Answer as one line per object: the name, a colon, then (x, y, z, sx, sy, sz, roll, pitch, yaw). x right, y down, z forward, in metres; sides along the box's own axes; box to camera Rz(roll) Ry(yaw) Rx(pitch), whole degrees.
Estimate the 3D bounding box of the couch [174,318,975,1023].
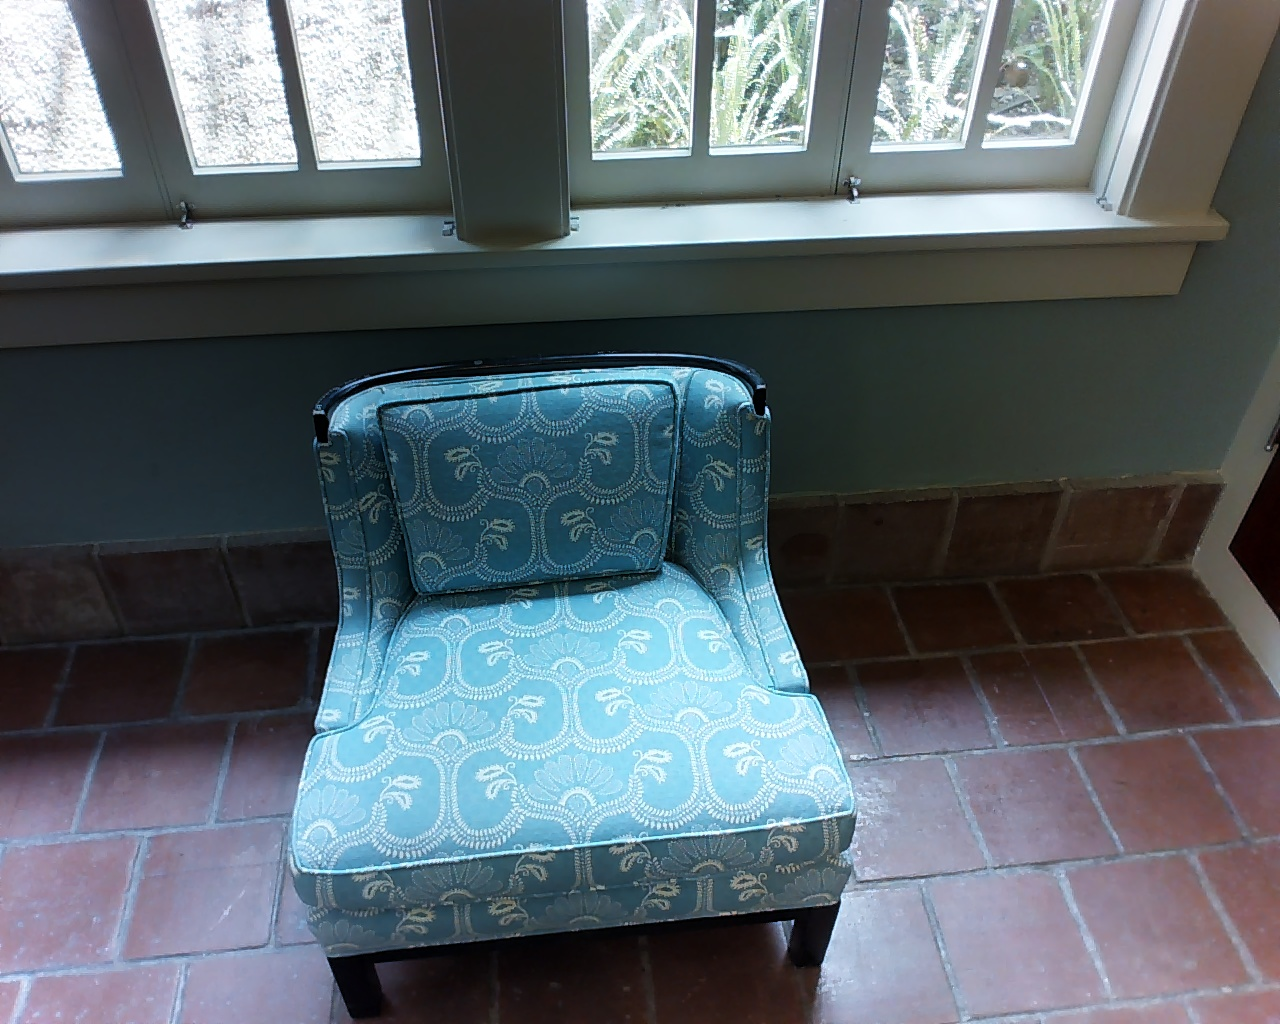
couch: (-0.100, 0.240, 1.580, 0.800, 0.710, 0.740, -5, 42, -6)
